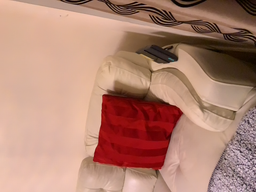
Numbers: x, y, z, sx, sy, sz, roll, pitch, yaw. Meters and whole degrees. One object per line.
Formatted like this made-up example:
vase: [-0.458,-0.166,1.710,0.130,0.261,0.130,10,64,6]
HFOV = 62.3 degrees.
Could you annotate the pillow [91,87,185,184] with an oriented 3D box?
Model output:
pillow: [0.030,0.260,1.290,0.160,0.460,0.560,-80,-1,-56]
